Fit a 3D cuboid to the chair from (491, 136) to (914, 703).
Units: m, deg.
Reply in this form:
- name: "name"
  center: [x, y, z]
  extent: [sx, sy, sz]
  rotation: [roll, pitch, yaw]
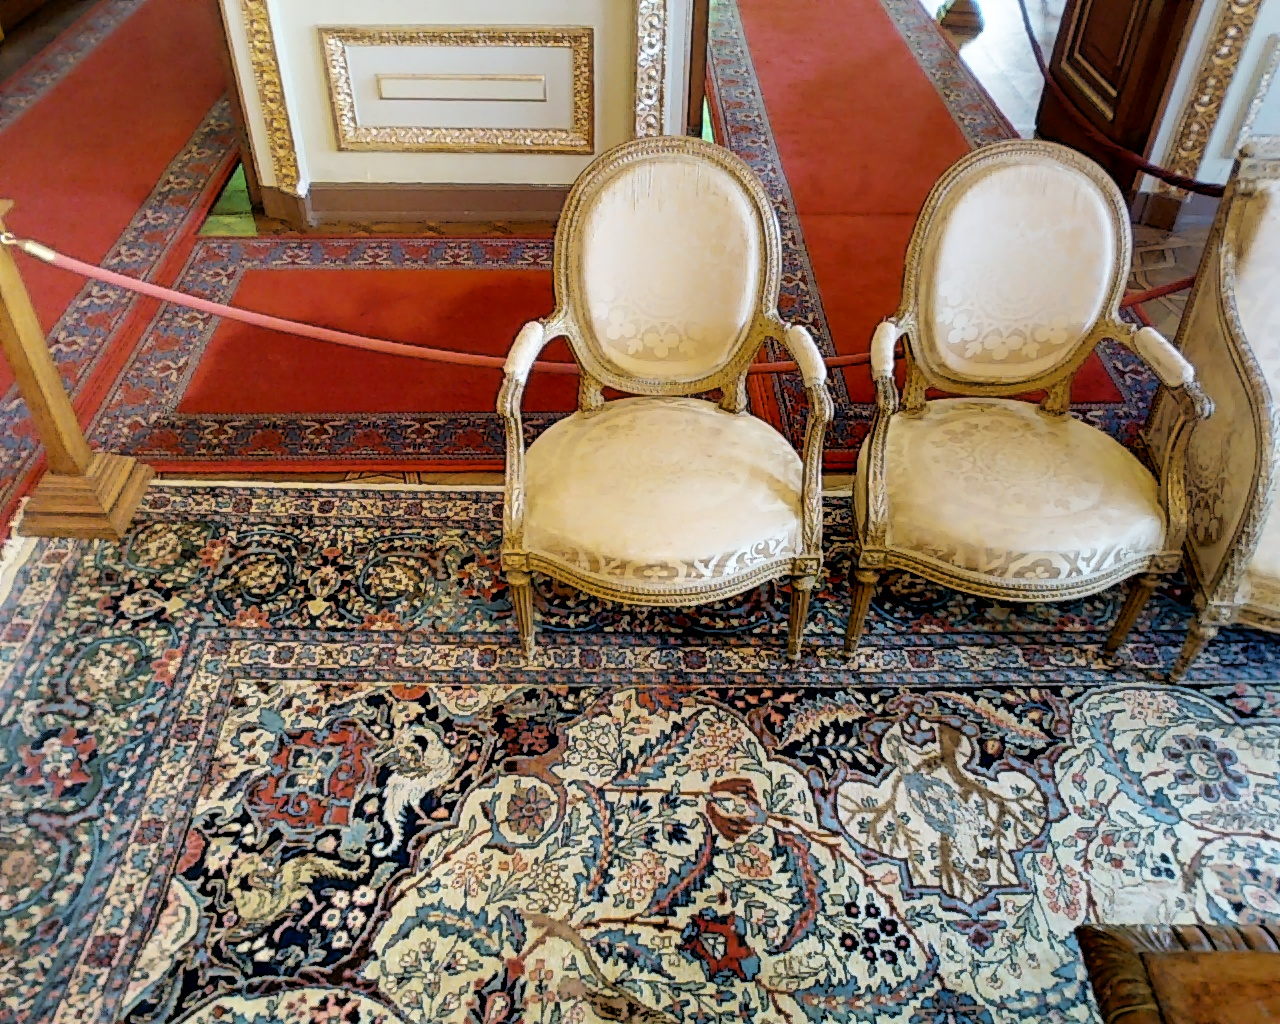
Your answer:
- name: "chair"
  center: [0.080, -0.160, 2.080]
  extent: [0.610, 0.900, 0.620]
  rotation: [0, 42, -1]

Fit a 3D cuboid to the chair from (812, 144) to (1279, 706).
- name: "chair"
  center: [0.770, -0.150, 2.110]
  extent: [0.680, 0.910, 0.610]
  rotation: [0, 42, -1]
